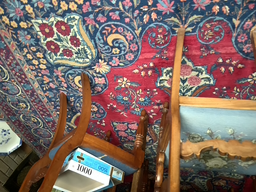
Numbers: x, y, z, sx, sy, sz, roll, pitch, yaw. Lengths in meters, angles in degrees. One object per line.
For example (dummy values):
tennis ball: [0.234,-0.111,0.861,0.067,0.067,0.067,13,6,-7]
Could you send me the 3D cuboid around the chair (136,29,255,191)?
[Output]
chair: [0.350,0.200,0.890,0.550,0.910,0.530,5,136,7]
